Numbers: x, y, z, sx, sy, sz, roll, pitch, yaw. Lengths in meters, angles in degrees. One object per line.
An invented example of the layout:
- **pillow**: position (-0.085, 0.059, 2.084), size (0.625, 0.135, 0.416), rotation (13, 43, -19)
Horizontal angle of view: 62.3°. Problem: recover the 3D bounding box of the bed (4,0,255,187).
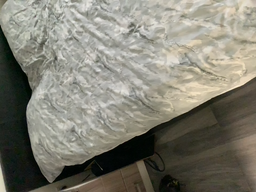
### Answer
- **bed**: position (-0.100, -0.520, 1.490), size (2.140, 0.580, 1.740), rotation (-35, 70, 40)
